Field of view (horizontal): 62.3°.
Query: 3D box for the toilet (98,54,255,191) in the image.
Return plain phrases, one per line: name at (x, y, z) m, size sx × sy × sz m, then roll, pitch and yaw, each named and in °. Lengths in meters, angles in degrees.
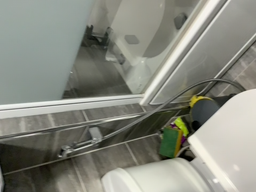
toilet at (0.420, 0.260, 0.830) m, size 0.430 × 0.780 × 0.670 m, roll 58°, pitch 134°, yaw 29°
